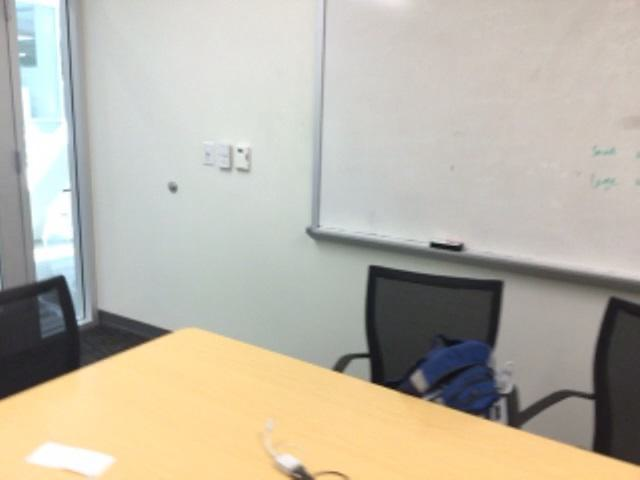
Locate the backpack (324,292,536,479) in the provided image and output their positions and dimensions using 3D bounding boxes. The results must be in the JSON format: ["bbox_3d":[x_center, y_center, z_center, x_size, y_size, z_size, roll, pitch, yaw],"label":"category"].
[{"bbox_3d":[0.320,0.440,1.710,0.450,0.390,0.400,13,18,36],"label":"backpack"}]
